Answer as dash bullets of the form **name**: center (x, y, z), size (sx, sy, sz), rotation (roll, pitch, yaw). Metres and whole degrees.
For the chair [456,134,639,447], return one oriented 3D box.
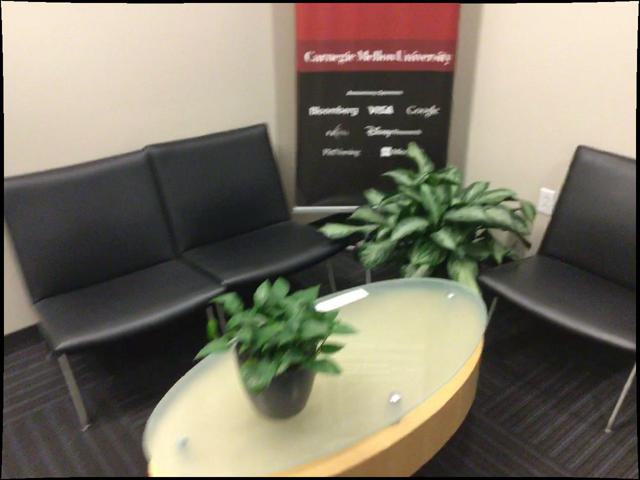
- **chair**: center (0.968, 0.110, 2.000), size (0.659, 0.681, 0.650), rotation (-21, 34, -31)

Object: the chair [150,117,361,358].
- **chair**: center (-0.269, -0.060, 2.480), size (0.549, 0.681, 0.730), rotation (-21, 34, -30)

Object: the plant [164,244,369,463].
- **plant**: center (-0.130, 0.251, 1.420), size (0.340, 0.270, 0.370), rotation (-21, 34, -30)

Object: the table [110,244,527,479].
- **table**: center (0.020, 0.421, 1.680), size (1.019, 0.331, 0.570), rotation (-21, 34, -30)

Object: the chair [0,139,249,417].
- **chair**: center (-0.738, 0.080, 2.140), size (0.629, 0.631, 0.680), rotation (-21, 34, -30)
